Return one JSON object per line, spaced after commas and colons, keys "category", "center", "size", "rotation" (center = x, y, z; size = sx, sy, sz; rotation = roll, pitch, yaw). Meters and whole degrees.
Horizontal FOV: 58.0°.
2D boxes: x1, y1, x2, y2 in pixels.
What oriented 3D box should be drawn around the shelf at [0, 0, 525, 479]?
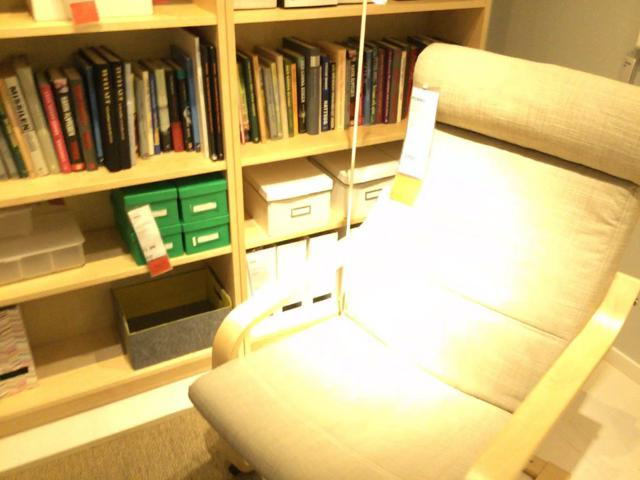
{"category": "shelf", "center": [-0.280, -0.180, 1.620], "size": [1.730, 1.280, 0.400], "rotation": [-11, 26, -26]}
